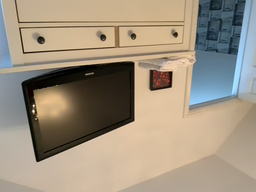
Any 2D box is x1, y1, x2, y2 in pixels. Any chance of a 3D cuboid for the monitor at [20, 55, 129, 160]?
[{"bbox_3d":[-0.280,0.040,1.420,0.740,0.550,0.030,-16,-155,-39],"label":"monitor"}]
